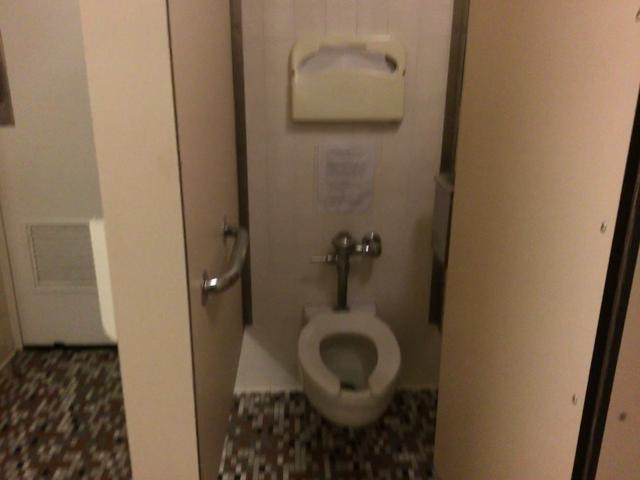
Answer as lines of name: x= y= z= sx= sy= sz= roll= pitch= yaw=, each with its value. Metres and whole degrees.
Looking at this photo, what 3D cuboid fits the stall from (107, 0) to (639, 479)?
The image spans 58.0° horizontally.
stall: x=0.040 y=0.040 z=1.500 sx=0.660 sy=1.810 sz=1.400 roll=-1 pitch=17 yaw=-4
